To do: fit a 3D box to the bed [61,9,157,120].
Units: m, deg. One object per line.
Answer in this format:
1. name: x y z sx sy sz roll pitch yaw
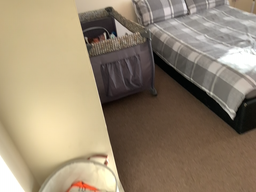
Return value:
1. bed: -0.270 -0.460 2.490 0.670 0.760 1.210 -18 35 -14
